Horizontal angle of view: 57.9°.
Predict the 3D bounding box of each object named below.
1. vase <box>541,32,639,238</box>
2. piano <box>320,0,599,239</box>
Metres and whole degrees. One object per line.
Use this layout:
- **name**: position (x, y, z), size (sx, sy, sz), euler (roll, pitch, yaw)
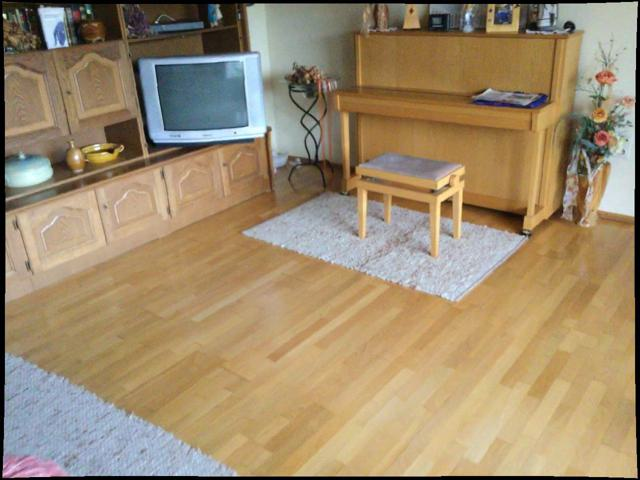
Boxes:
- **vase**: position (1.598, -0.611, 3.360), size (0.360, 1.071, 0.410), euler (16, 32, 34)
- **piano**: position (0.809, -0.851, 3.730), size (1.519, 1.241, 0.590), euler (16, 32, 34)
